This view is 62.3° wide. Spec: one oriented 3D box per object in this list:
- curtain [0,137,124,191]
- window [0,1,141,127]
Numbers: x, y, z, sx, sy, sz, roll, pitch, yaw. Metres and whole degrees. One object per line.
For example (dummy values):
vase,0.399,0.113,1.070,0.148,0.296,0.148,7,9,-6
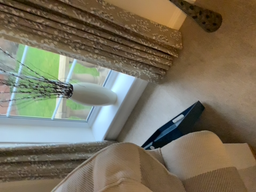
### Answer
curtain,-1.050,0.480,1.410,0.170,2.280,0.400,50,121,44
window,-0.910,-0.190,1.460,0.080,2.100,0.880,52,122,43
